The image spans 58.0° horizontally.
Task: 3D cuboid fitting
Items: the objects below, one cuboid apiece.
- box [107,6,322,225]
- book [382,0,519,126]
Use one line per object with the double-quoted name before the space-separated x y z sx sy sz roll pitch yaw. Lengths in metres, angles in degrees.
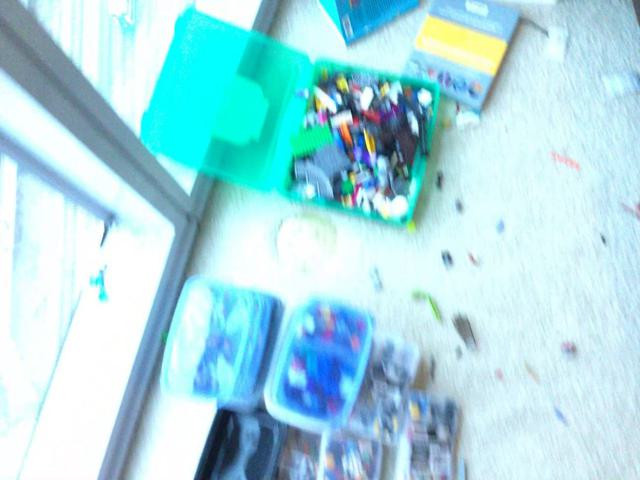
"box" -0.210 -0.270 1.270 0.340 0.380 0.200 10 -15 9
"book" 0.290 -0.420 1.320 0.270 0.310 0.030 -5 -17 5
